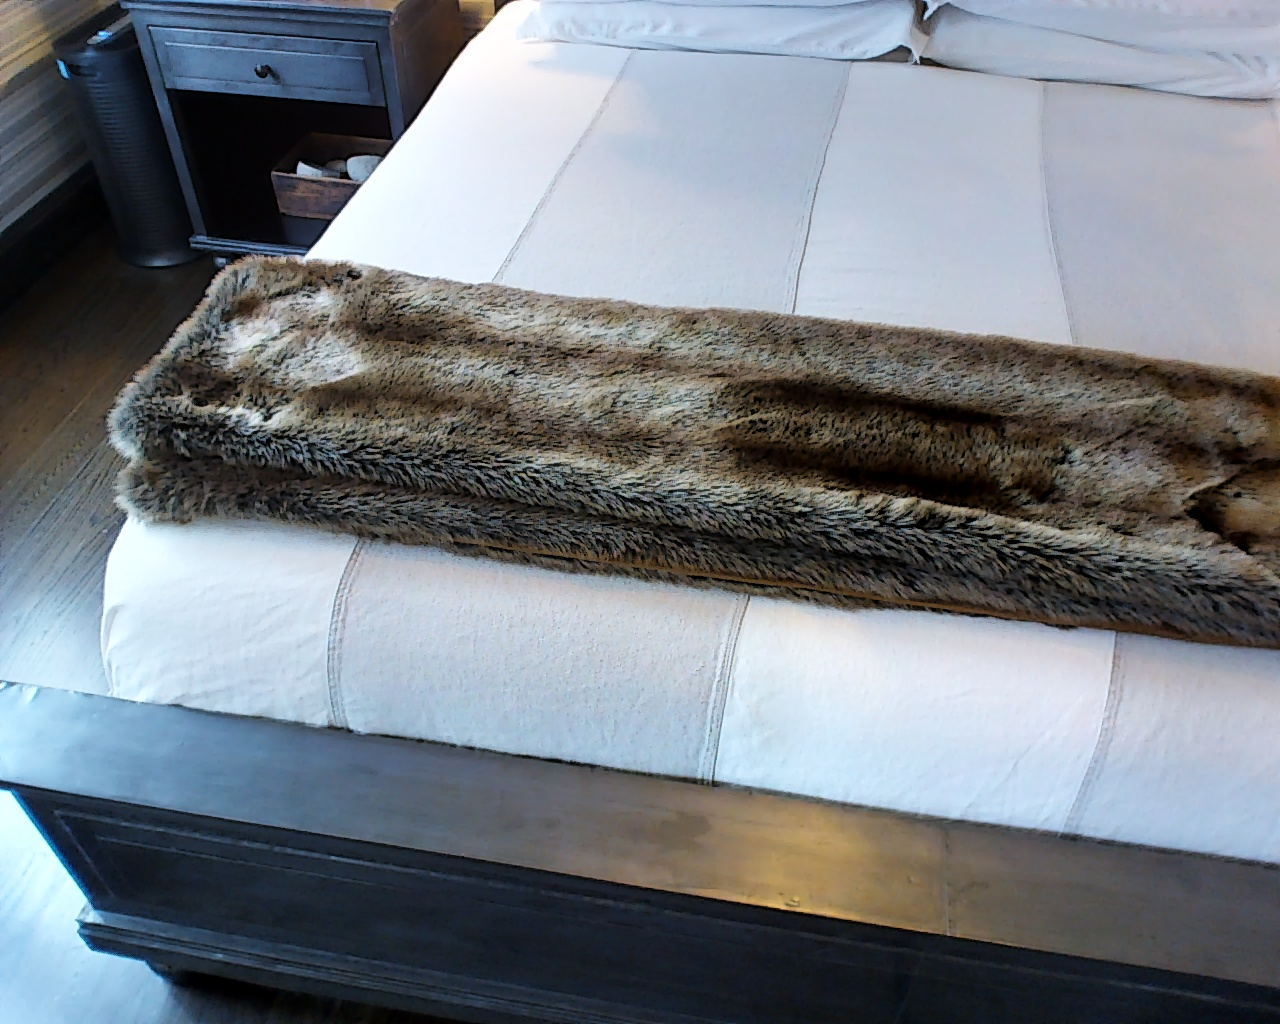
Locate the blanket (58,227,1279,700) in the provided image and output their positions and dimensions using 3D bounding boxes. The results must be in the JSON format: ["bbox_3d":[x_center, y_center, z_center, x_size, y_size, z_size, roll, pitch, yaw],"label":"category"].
[{"bbox_3d":[0.360,-0.060,1.200,1.860,0.140,0.460,7,43,7],"label":"blanket"}]

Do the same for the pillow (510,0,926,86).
[{"bbox_3d":[0.180,-1.050,2.240,0.800,0.090,0.440,8,44,8],"label":"pillow"}]
